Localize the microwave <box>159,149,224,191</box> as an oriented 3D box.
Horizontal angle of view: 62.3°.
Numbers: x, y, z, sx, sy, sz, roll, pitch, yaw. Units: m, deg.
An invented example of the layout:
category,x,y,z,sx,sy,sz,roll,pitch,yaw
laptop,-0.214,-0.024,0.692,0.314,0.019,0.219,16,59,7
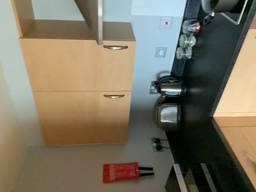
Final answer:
category,x,y,z,sx,sy,sz,roll,pitch,yaw
microwave,0.430,0.700,1.420,0.550,0.280,0.360,-99,11,-52
